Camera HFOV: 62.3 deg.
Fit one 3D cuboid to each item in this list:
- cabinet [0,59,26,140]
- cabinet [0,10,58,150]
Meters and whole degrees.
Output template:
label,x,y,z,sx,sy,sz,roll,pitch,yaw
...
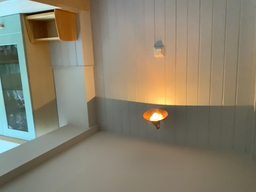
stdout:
label,x,y,z,sx,sy,sz,roll,pitch,yaw
cabinet,-1.440,0.020,2.360,0.310,0.840,0.340,4,-167,26
cabinet,-1.080,-0.150,2.140,0.510,1.250,0.340,4,-167,26
